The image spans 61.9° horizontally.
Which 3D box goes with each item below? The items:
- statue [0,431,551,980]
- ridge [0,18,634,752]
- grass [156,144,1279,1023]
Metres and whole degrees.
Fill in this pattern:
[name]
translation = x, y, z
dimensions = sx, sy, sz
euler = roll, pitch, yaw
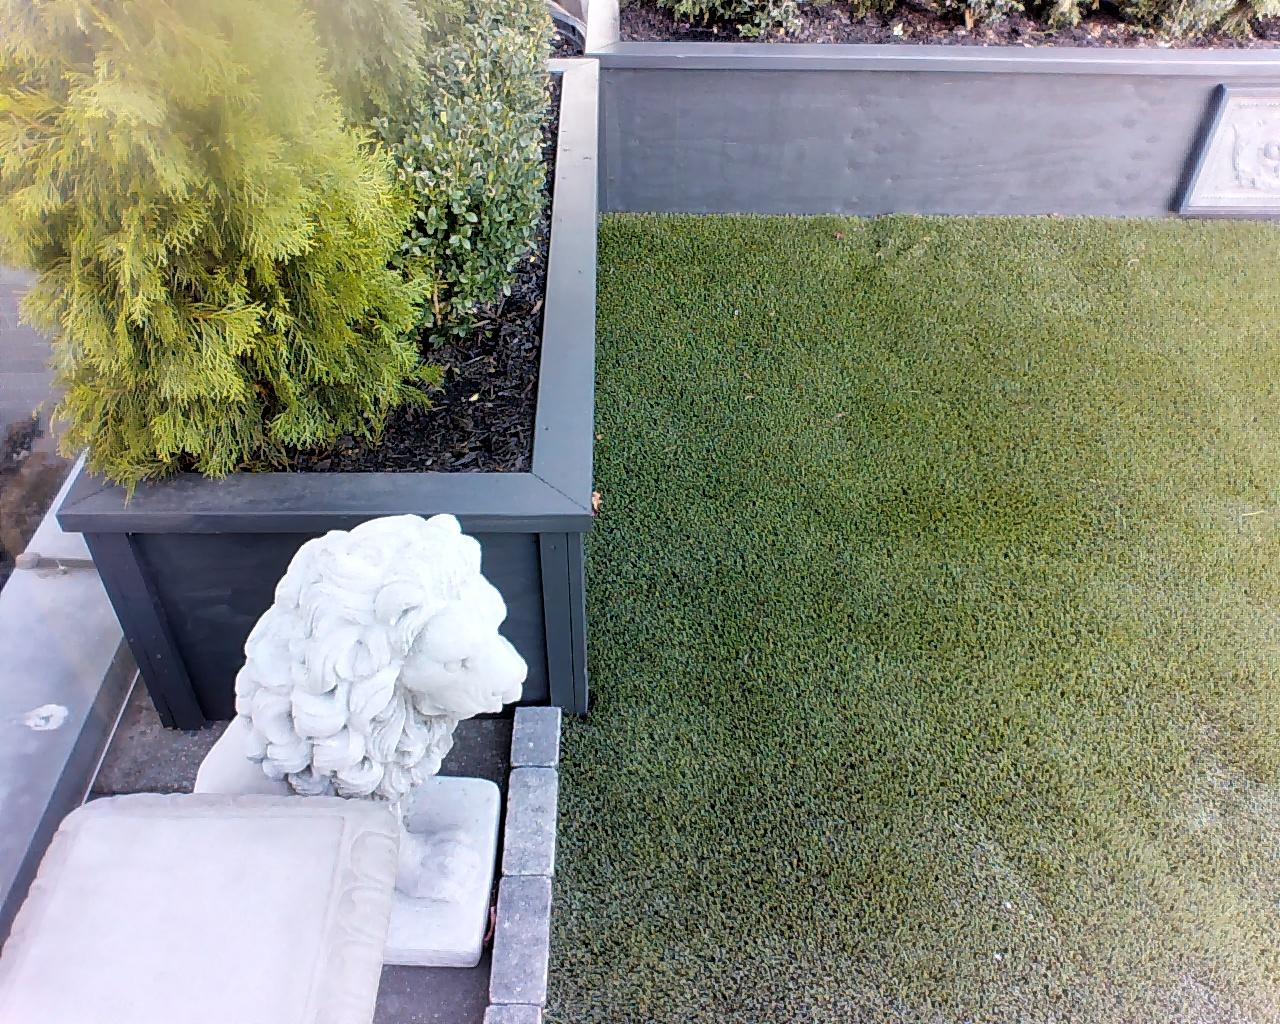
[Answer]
[statue]
translation = -0.500, 0.270, 1.360
dimensions = 0.710, 0.670, 0.340
euler = 1, 42, 1
[ridge]
translation = -0.430, -0.430, 2.180
dimensions = 0.790, 0.520, 1.810
euler = 1, 42, 1
[grass]
translation = 2.249, -0.090, 2.180
dimensions = 5.629, 0.130, 2.710
euler = 1, 42, 1
